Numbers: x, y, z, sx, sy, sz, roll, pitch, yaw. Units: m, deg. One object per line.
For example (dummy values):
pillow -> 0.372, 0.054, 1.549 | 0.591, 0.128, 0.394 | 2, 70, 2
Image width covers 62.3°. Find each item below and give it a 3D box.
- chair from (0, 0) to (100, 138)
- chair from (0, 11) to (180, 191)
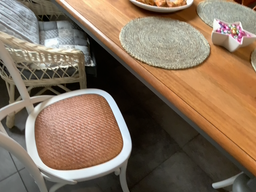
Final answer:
chair -> -0.580, -0.280, 1.280 | 0.680, 0.840, 0.620 | -8, 51, -17
chair -> -0.260, 0.180, 0.920 | 0.540, 0.860, 0.500 | -11, 52, -19
